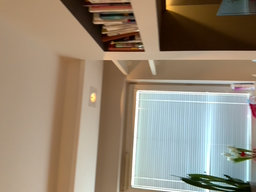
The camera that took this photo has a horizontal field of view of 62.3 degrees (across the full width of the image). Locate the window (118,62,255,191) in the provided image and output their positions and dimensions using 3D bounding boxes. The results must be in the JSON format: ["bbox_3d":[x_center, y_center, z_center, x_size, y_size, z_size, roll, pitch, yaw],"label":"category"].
[{"bbox_3d":[0.660,0.760,2.310,0.130,1.510,2.250,30,-117,-78],"label":"window"}]
